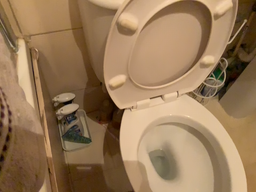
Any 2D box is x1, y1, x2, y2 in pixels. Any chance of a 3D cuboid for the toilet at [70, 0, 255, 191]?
[{"bbox_3d":[0.130,0.090,0.700,0.430,0.810,0.680,-14,59,-15],"label":"toilet"}]
